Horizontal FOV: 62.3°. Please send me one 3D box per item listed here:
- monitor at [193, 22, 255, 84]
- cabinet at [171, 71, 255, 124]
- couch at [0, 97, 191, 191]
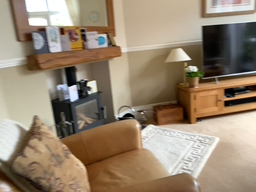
[{"bbox_3d":[1.500,-0.610,2.920,1.240,0.750,0.070,-7,14,-8],"label":"monitor"},{"bbox_3d":[1.570,-0.030,3.130,1.750,0.490,0.530,-7,14,-8],"label":"cabinet"},{"bbox_3d":[-0.350,0.530,1.120,1.040,0.750,0.820,-9,15,-14],"label":"couch"}]
